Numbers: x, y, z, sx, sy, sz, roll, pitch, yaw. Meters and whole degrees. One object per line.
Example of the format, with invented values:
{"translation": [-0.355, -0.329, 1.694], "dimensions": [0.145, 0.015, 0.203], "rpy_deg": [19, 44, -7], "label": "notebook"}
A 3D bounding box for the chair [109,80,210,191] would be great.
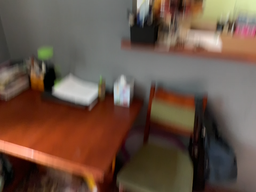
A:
{"translation": [0.200, 0.420, 1.420], "dimensions": [0.480, 0.880, 0.470], "rpy_deg": [10, 32, 15], "label": "chair"}
